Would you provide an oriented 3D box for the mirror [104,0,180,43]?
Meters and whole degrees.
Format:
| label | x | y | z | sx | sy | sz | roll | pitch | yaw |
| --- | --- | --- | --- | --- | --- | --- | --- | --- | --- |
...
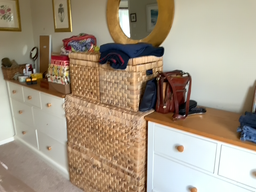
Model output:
| label | x | y | z | sx | sy | sz | roll | pitch | yaw |
| --- | --- | --- | --- | --- | --- | --- | --- | --- | --- |
| mirror | 0.090 | -0.740 | 1.750 | 0.640 | 0.570 | 0.170 | 12 | 20 | 37 |
